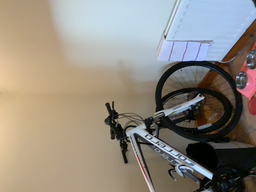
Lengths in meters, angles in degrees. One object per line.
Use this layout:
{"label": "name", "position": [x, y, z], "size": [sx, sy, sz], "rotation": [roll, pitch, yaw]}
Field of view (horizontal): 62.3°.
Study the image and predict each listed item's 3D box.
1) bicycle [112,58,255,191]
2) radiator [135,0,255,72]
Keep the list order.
{"label": "bicycle", "position": [0.390, 0.590, 1.640], "size": [0.550, 0.980, 1.700], "rotation": [107, 162, -63]}
{"label": "radiator", "position": [0.550, -0.510, 1.340], "size": [1.070, 0.850, 0.120], "rotation": [106, 163, -62]}
